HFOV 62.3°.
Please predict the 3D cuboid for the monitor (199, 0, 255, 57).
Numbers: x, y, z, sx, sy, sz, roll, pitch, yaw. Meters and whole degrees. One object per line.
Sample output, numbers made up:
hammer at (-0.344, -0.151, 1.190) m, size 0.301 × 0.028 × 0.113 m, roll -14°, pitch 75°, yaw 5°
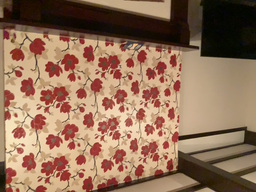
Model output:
monitor at (1.620, -0.930, 2.940) m, size 1.370 × 0.750 × 0.060 m, roll 0°, pitch -175°, yaw -16°
